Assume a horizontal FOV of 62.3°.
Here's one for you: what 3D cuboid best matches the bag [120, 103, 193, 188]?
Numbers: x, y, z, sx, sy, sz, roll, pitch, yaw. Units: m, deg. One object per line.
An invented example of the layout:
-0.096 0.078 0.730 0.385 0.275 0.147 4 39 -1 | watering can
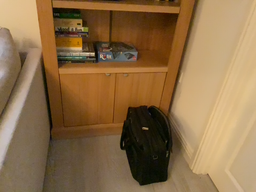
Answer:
0.150 0.300 1.400 0.310 0.310 0.430 -2 34 -13 | bag
